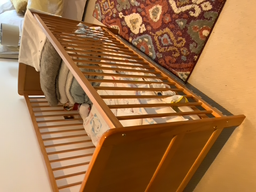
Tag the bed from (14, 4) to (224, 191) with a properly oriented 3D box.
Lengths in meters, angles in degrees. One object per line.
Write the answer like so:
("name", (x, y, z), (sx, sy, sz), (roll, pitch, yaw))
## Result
("bed", (-0.300, -0.050, 1.740), (1.600, 0.890, 0.790), (46, 126, 44))
